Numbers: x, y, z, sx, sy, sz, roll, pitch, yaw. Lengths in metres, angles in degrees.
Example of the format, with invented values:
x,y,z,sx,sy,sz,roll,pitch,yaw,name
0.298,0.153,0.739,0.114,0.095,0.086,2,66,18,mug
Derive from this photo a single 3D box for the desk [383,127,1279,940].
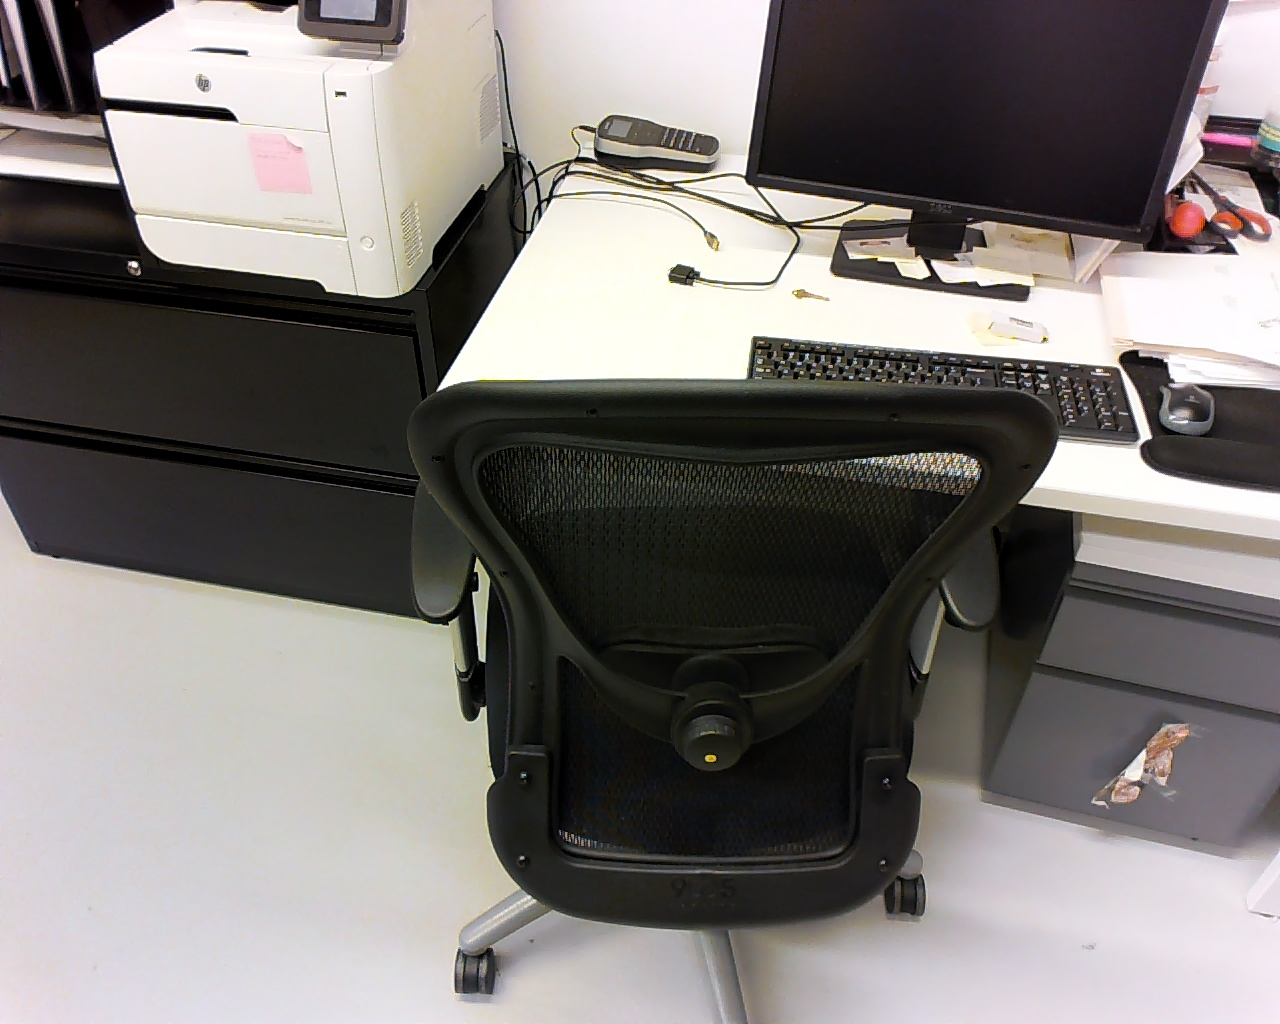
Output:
x,y,z,sx,sy,sz,roll,pitch,yaw,name
0.430,-0.010,1.660,1.310,0.760,0.810,8,42,8,desk

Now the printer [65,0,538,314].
x,y,z,sx,sy,sz,roll,pitch,yaw,name
-0.440,-0.590,1.580,0.440,0.320,0.520,8,42,8,printer

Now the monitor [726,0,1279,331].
x,y,z,sx,sy,sz,roll,pitch,yaw,name
0.430,-0.510,1.350,0.590,0.440,0.220,9,42,9,monitor
